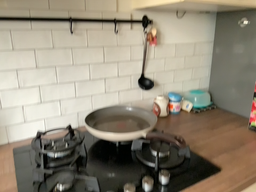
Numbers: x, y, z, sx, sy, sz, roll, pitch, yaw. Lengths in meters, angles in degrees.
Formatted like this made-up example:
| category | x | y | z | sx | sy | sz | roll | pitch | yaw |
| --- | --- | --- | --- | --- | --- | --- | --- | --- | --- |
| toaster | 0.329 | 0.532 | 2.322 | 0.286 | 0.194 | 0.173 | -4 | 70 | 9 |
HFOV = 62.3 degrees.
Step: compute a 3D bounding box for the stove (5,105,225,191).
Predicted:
| category | x | y | z | sx | sy | sz | roll | pitch | yaw |
| --- | --- | --- | --- | --- | --- | --- | --- | --- | --- |
| stove | -0.090 | 0.190 | 0.780 | 0.600 | 0.050 | 0.570 | -10 | 20 | -30 |
